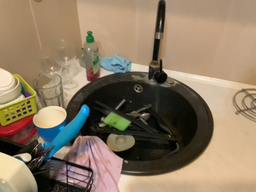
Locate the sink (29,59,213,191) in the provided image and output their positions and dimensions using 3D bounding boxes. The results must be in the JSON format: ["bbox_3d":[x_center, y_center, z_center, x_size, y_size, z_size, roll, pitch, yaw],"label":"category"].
[{"bbox_3d":[0.030,0.100,0.800,0.490,0.180,0.520,14,39,15],"label":"sink"}]
